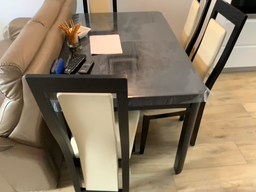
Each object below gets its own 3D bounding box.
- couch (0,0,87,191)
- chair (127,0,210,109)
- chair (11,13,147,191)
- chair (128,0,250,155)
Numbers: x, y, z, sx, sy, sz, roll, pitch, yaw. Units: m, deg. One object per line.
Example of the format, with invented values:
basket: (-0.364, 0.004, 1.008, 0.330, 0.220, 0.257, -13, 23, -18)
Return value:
couch: (-0.980, -0.280, 1.810, 1.050, 0.980, 1.840, -3, 40, -5)
chair: (0.290, -0.410, 1.930, 0.560, 1.070, 0.380, 2, 40, 1)
chair: (-0.160, 0.170, 1.210, 0.420, 1.070, 0.560, 0, 40, -1)
chair: (0.310, -0.090, 1.550, 0.560, 1.070, 0.410, -5, 40, -7)
